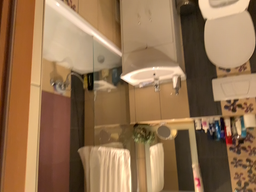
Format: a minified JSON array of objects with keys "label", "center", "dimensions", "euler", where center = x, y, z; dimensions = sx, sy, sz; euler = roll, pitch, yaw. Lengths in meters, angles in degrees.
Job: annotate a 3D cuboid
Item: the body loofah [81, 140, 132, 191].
[{"label":"body loofah","center":[-0.150,0.660,1.720],"dimensions":[0.180,0.580,0.590],"euler":[-7,168,18]}]
